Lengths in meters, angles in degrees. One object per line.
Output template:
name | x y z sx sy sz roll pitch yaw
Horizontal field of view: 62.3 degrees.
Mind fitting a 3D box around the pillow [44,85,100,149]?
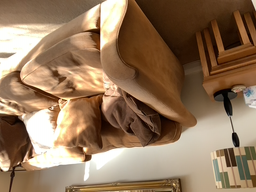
pillow | -0.460 0.190 1.770 0.390 0.420 0.230 -18 152 30

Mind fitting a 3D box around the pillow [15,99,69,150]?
pillow | -0.780 0.260 1.940 0.340 0.360 0.180 -19 133 29
